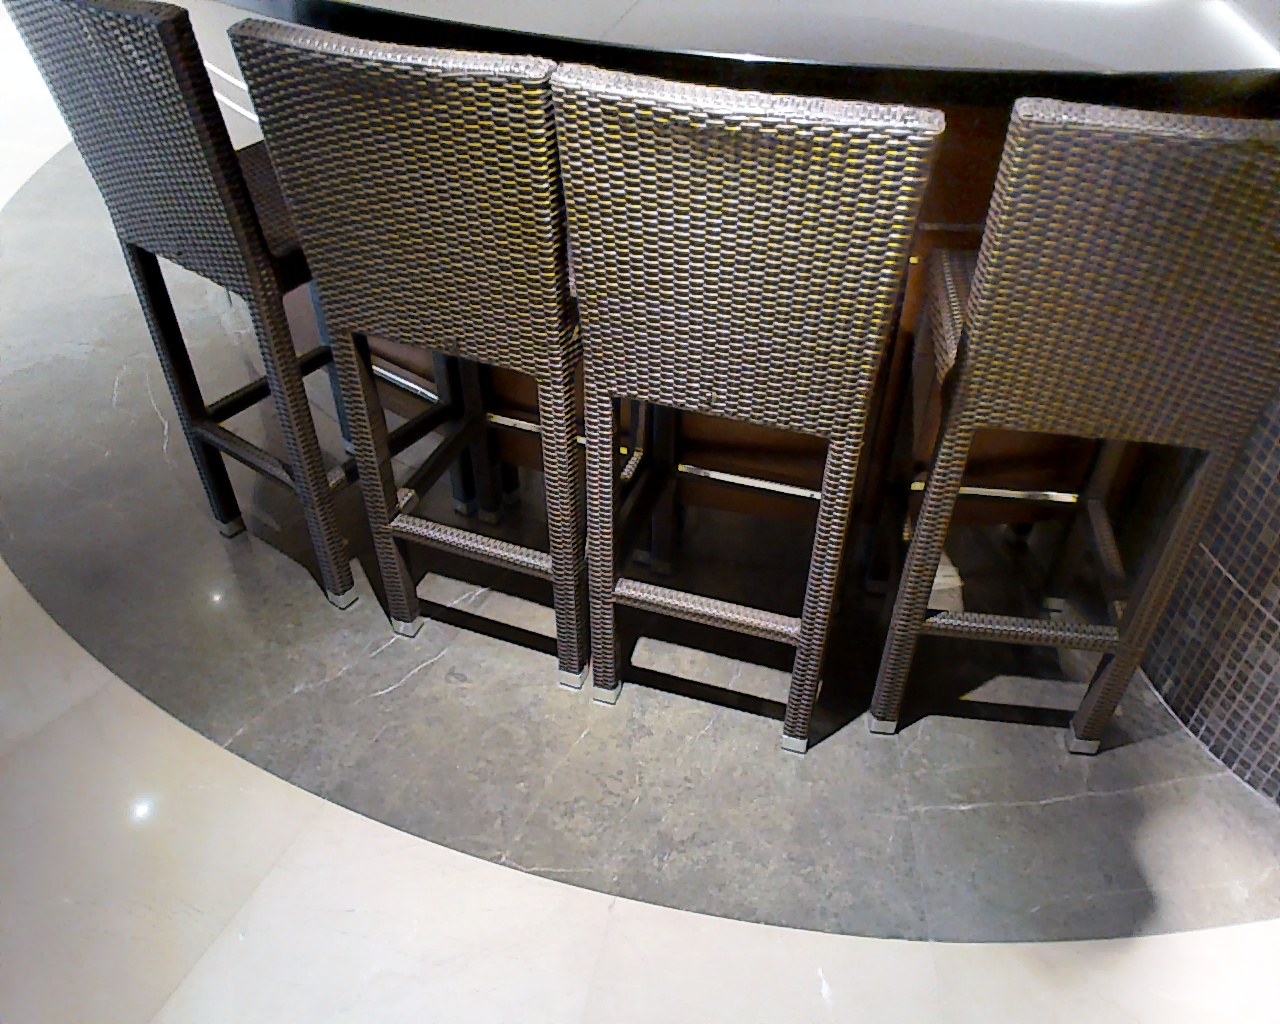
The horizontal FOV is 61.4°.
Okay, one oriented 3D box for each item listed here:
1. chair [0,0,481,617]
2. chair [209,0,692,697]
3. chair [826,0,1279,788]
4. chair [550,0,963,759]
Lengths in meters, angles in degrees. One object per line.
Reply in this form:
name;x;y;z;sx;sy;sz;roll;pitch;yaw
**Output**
chair;-0.670;-0.430;2.000;0.460;1.150;0.460;23;46;23
chair;-0.240;-0.290;1.840;0.480;1.140;0.480;15;44;15
chair;0.650;-0.160;1.710;0.520;1.170;0.520;8;42;8
chair;0.170;-0.200;1.750;0.430;1.150;0.520;12;43;12
